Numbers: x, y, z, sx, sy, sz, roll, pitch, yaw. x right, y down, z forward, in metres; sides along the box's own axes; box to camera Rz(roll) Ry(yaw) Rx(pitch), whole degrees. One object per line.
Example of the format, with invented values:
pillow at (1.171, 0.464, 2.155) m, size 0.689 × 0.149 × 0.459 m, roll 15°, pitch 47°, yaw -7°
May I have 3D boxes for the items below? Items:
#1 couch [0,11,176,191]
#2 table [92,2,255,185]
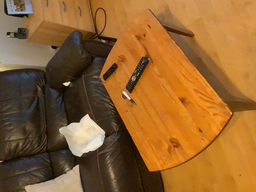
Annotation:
couch at (-0.400, 0.630, 1.630) m, size 1.050 × 0.920 × 1.990 m, roll -29°, pitch 71°, yaw 41°
table at (0.260, -0.030, 1.270) m, size 0.550 × 0.480 × 0.780 m, roll -51°, pitch 58°, yaw 32°
